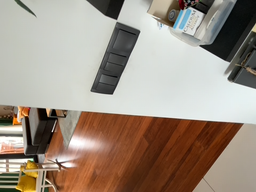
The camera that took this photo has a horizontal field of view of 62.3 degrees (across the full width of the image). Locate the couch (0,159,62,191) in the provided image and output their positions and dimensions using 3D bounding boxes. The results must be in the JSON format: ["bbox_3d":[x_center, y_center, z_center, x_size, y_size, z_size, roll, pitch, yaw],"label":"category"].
[{"bbox_3d":[-2.040,1.670,4.190,0.950,1.130,0.730,-20,68,52],"label":"couch"}]
